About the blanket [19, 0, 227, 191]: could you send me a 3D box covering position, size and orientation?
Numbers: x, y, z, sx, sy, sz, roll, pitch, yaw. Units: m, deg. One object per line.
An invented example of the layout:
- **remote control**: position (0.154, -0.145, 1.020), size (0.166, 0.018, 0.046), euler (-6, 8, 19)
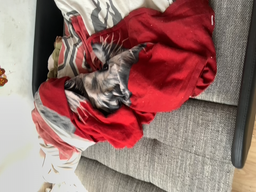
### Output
- **blanket**: position (-0.110, -0.270, 1.060), size (1.010, 0.250, 1.040), euler (12, 98, 32)
